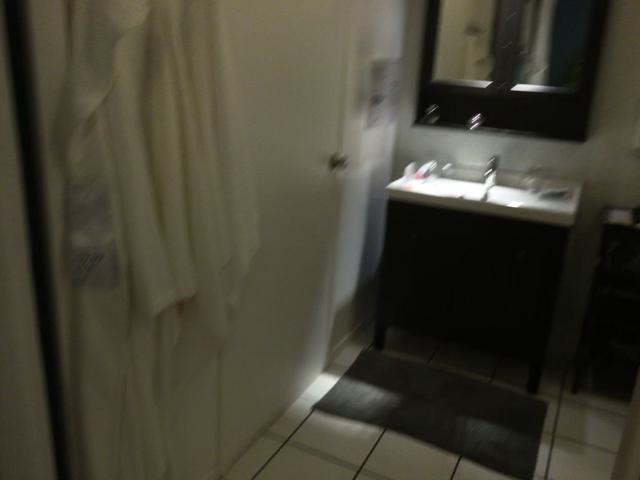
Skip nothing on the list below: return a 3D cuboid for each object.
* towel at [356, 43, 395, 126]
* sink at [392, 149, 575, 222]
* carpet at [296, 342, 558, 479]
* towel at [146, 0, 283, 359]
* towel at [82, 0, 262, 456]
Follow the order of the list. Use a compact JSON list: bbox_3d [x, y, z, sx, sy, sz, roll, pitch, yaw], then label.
[{"bbox_3d":[0.240,-0.670,2.490,0.080,0.330,0.210,9,19,24],"label":"towel"},{"bbox_3d":[0.750,-0.270,2.640,0.710,0.180,0.470,9,19,25],"label":"sink"},{"bbox_3d":[0.480,0.730,2.450,0.910,0.100,0.750,9,19,25],"label":"carpet"},{"bbox_3d":[-0.250,-0.210,1.520,0.140,0.960,0.360,9,19,24],"label":"towel"},{"bbox_3d":[-0.340,-0.050,1.490,0.190,1.110,0.380,9,19,24],"label":"towel"}]
